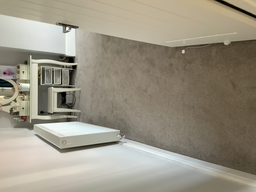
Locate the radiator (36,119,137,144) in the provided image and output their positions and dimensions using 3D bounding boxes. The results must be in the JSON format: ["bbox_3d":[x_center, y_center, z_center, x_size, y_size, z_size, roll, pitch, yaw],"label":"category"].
[{"bbox_3d":[-0.540,0.360,2.390,1.240,0.680,0.120,-5,85,56],"label":"radiator"}]

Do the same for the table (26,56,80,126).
[{"bbox_3d":[-1.240,-0.070,3.510,0.550,0.720,1.010,0,89,56],"label":"table"}]
